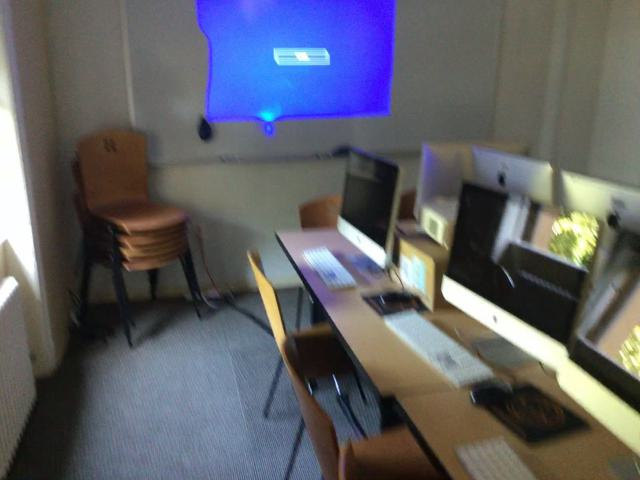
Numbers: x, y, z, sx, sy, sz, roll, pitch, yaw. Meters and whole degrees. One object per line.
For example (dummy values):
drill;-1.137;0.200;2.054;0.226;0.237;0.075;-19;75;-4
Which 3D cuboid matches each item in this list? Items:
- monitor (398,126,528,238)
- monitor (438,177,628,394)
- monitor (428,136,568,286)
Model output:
monitor;0.640;-0.270;2.620;0.540;0.450;0.150;-6;18;-15
monitor;0.510;0.080;1.510;0.130;0.390;0.540;-6;18;-17
monitor;0.650;-0.140;2.230;0.210;0.440;0.570;-6;18;-15
